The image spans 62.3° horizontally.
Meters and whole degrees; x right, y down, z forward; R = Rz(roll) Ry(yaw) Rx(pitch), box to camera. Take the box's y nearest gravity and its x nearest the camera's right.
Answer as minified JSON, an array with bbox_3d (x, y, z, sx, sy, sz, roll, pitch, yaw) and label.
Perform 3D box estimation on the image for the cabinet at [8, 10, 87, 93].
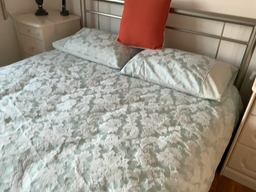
[{"bbox_3d":[-0.850,-0.520,2.370,0.510,0.700,0.520,22,38,28],"label":"cabinet"}]
